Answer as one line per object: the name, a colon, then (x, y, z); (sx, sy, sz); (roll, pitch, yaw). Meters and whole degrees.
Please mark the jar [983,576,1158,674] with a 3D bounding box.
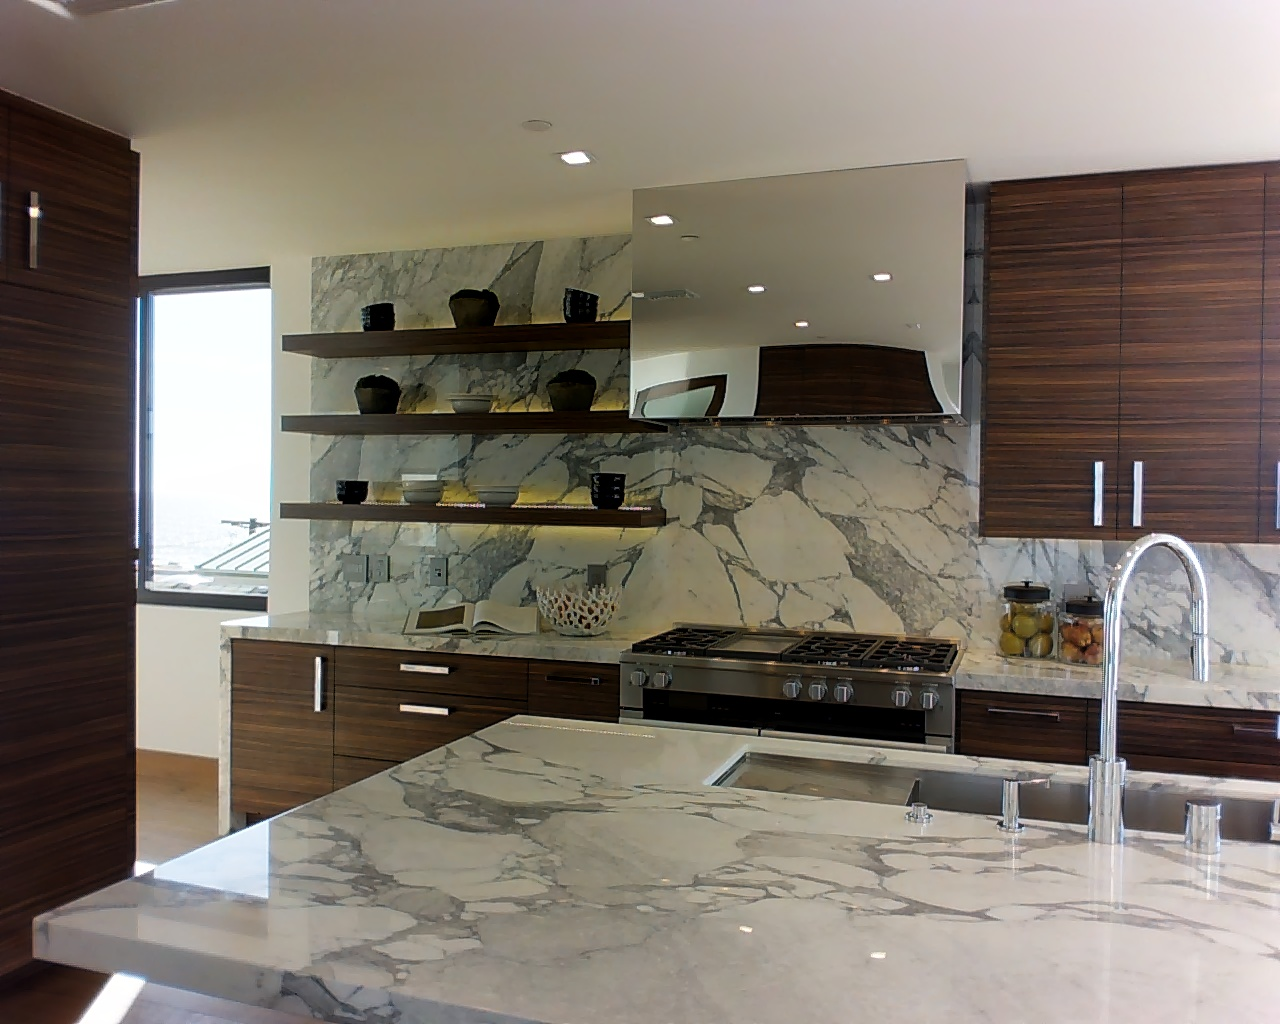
jar: (1.600, 0.410, 4.030); (0.580, 0.300, 0.330); (1, 1, 21)
